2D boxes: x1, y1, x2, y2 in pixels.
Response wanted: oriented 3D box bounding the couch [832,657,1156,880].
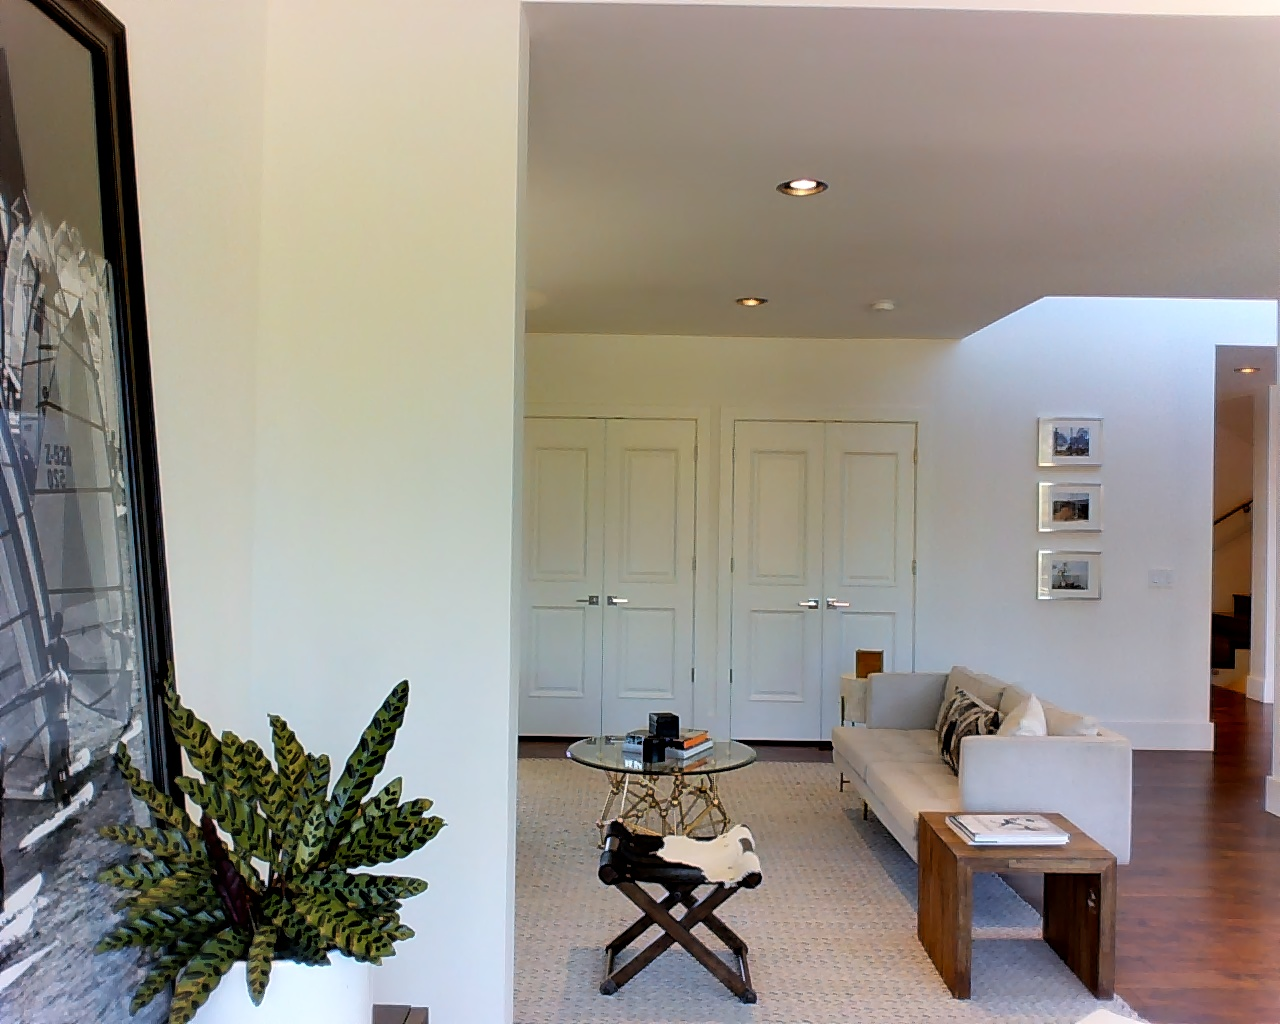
[{"bbox_3d":[1.440,1.050,4.760,0.880,0.570,1.700,1,0,0],"label":"couch"}]
